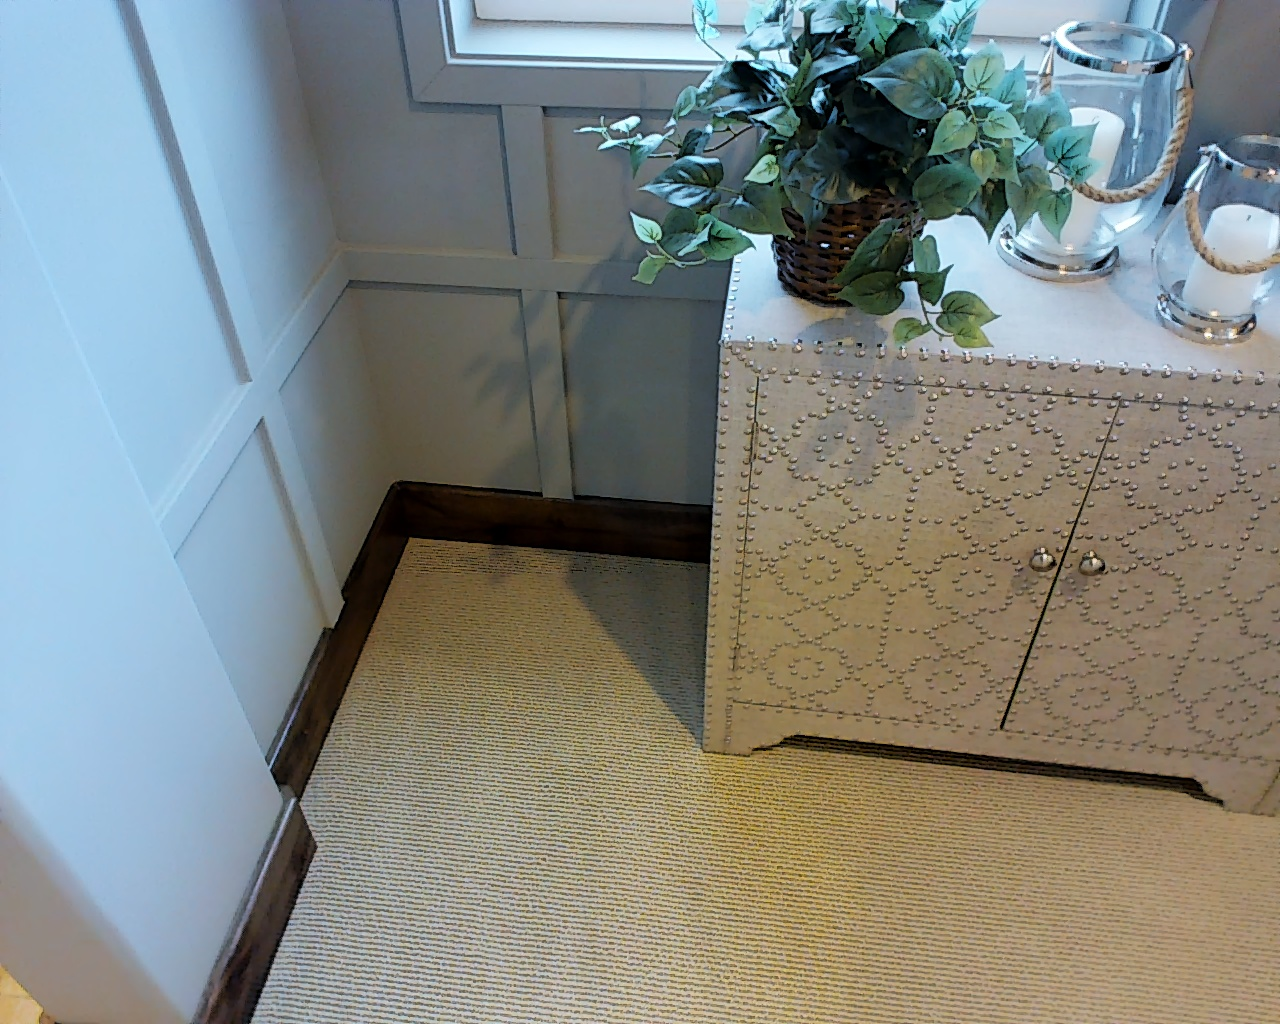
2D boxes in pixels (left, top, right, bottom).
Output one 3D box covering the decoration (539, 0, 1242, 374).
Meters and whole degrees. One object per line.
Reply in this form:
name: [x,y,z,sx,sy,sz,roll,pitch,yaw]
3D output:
decoration: [0.220,-0.430,1.120,0.560,0.380,0.390,4,43,6]
